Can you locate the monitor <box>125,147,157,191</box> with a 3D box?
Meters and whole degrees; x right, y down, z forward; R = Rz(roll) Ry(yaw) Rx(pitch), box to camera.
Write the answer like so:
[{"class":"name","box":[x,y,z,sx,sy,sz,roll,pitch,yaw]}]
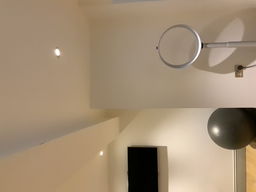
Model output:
[{"class":"monitor","box":[0.230,1.340,3.650,0.060,0.520,0.910,5,-97,-83]}]
